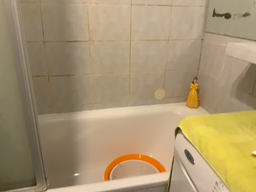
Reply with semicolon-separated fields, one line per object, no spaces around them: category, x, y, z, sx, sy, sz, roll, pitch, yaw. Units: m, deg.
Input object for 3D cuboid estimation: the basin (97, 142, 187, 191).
basin;0.050;0.500;1.280;0.430;0.190;0.420;-4;23;-11
